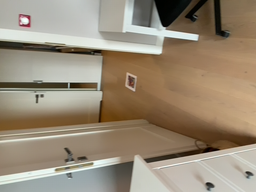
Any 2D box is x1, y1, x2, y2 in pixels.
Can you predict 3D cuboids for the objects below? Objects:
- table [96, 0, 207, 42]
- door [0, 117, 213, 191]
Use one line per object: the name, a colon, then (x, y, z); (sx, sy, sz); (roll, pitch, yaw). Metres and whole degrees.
table: (0.210, -0.950, 1.750); (0.520, 0.740, 0.870); (33, 120, 57)
door: (-0.390, 0.370, 1.680); (0.840, 2.060, 0.090); (19, 107, 61)
